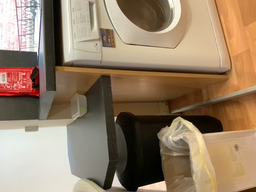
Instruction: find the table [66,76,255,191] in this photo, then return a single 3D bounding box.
[{"bbox_3d":[0.090,0.250,1.390,0.940,0.820,0.440,147,119,-62],"label":"table"}]
